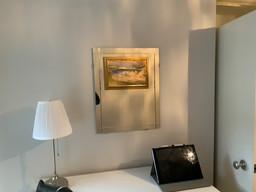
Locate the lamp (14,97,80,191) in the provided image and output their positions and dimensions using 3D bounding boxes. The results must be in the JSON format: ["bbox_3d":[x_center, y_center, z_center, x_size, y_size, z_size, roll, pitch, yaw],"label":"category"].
[{"bbox_3d":[-0.480,0.340,1.250,0.290,0.630,0.310,-4,6,-29],"label":"lamp"}]
